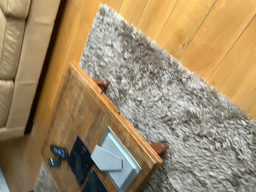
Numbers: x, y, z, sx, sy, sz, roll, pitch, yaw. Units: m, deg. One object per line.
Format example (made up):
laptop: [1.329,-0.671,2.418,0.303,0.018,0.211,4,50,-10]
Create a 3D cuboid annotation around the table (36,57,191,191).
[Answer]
table: [-0.200,0.340,1.360,0.780,0.300,0.870,46,124,29]
